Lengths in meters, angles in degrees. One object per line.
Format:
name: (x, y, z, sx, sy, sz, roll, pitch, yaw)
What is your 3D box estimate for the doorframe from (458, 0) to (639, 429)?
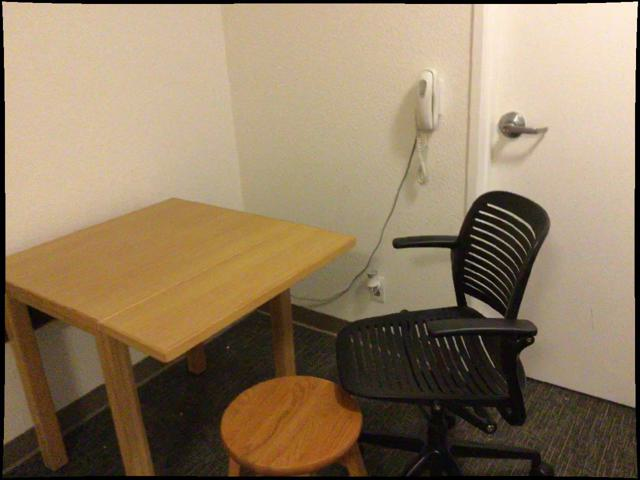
doorframe: (0.979, -0.140, 1.760, 1.039, 1.571, 0.190, 12, 28, 32)

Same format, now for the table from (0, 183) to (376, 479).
table: (-0.440, 0.360, 1.910, 0.949, 0.771, 0.820, 12, 28, 32)

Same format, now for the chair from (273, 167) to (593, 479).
chair: (0.330, 0.330, 1.630, 0.600, 0.871, 0.600, 12, 28, 32)
